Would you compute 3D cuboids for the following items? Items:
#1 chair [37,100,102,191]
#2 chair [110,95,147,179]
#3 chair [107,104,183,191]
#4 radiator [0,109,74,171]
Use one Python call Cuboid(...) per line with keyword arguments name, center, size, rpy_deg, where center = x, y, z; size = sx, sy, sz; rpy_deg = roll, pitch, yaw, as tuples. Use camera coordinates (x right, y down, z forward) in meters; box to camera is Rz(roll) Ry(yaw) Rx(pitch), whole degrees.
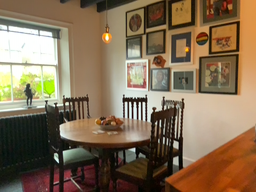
Cuboid(name="chair", center=(-0.620, 0.600, 2.260), size=(0.530, 1.040, 0.420), rpy_deg=(-4, 6, -34))
Cuboid(name="chair", center=(0.030, 0.530, 2.980), size=(0.420, 1.040, 0.530), rpy_deg=(1, 5, 11))
Cuboid(name="chair", center=(0.160, 0.630, 1.930), size=(0.530, 1.030, 0.420), rpy_deg=(3, 7, 37))
Cuboid(name="radiator", center=(-1.490, 0.640, 3.330), size=(0.160, 0.700, 1.390), rpy_deg=(4, 7, 41))
